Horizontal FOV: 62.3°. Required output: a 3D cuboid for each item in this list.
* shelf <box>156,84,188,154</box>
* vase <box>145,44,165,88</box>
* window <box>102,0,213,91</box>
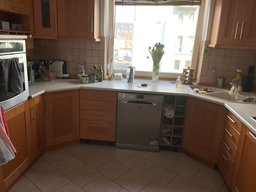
[{"bbox_3d":[0.600,0.300,3.040,0.300,0.840,0.530,5,15,4],"label":"shelf"},{"bbox_3d":[0.420,-0.490,3.350,0.240,0.630,0.510,5,15,6],"label":"vase"},{"bbox_3d":[0.410,-0.910,3.360,1.590,1.540,0.180,4,15,4],"label":"window"}]
